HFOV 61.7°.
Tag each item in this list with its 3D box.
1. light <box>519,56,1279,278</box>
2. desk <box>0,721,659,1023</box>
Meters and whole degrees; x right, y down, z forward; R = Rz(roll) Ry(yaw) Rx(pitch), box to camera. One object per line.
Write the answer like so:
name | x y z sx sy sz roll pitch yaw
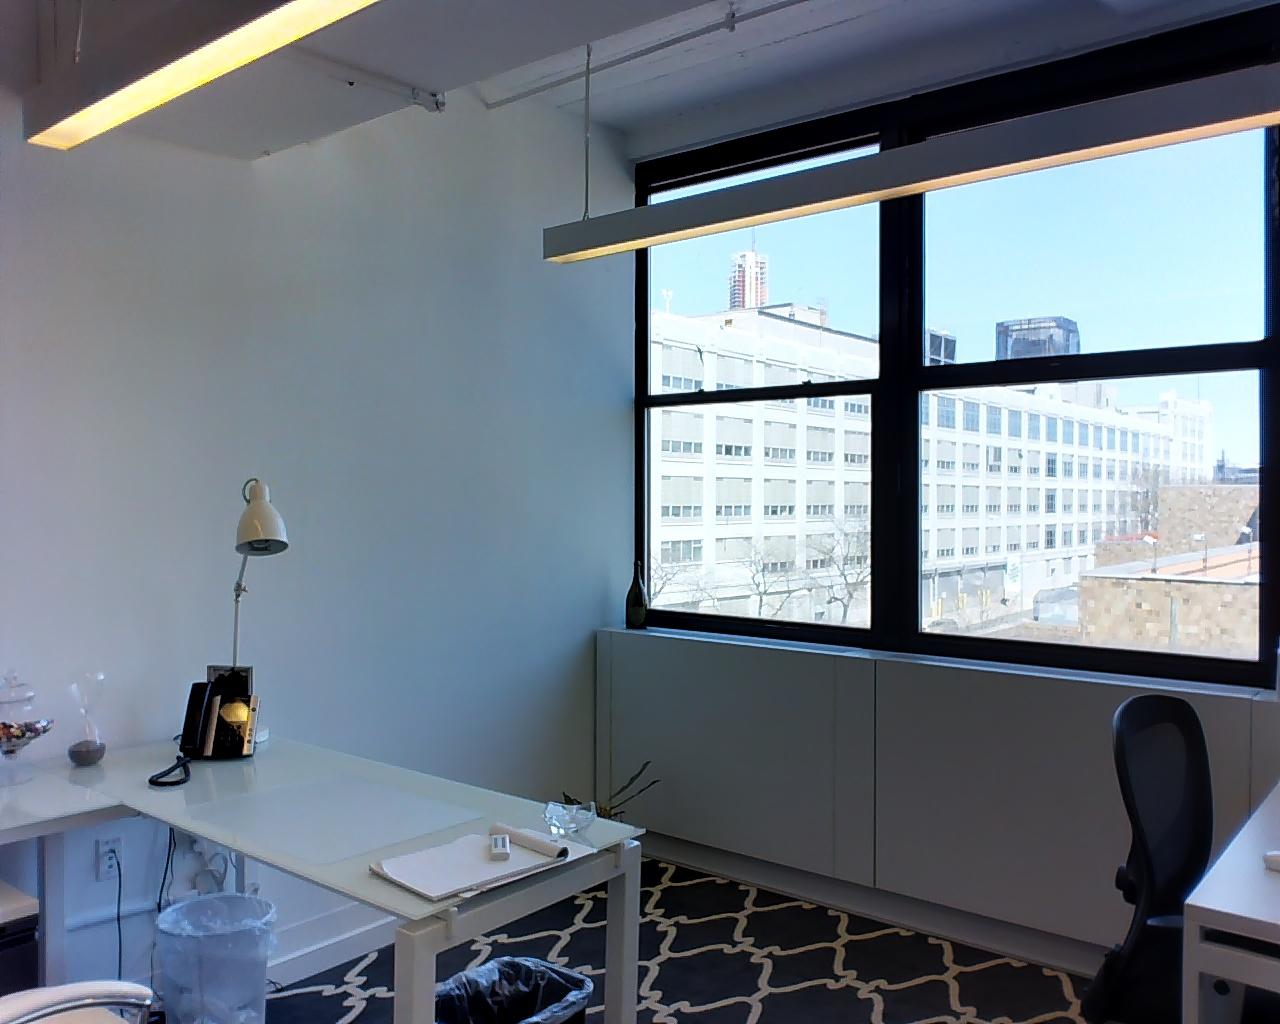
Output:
light | 0.630 -0.880 2.890 2.500 0.150 0.180 1 0 38
desk | -1.010 1.040 2.270 1.600 0.790 1.350 1 0 38
